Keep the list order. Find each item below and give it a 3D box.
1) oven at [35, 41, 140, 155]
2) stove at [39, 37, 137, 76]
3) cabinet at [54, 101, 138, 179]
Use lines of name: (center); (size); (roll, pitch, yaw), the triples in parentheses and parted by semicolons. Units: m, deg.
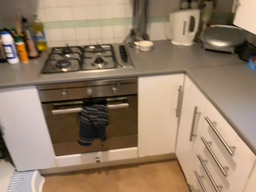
oven: (-0.270, -0.020, 1.660); (0.610, 0.600, 0.620); (-5, 32, -6)
stove: (-0.270, -0.300, 1.500); (0.580, 0.040, 0.540); (-5, 32, -6)
cabinet: (-0.270, 0.350, 1.890); (0.610, 0.270, 0.620); (-5, 32, -6)
